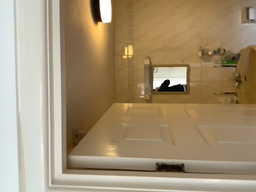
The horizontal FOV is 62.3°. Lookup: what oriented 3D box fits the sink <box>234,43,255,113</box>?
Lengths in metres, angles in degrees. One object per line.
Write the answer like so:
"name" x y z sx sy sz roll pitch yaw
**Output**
"sink" 1.200 -0.160 2.010 0.500 0.180 0.600 -16 -74 -83
